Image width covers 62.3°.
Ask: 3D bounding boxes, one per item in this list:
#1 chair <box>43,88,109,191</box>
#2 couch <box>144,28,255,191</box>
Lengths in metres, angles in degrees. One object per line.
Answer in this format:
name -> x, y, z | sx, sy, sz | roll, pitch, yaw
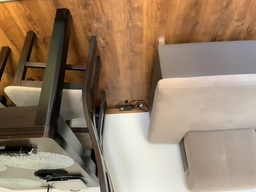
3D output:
chair -> -0.410, 0.480, 1.880 | 0.430, 1.040, 0.360 | -4, 150, 2
couch -> 0.580, 0.210, 1.650 | 0.840, 0.890, 1.030 | -4, 150, 2
